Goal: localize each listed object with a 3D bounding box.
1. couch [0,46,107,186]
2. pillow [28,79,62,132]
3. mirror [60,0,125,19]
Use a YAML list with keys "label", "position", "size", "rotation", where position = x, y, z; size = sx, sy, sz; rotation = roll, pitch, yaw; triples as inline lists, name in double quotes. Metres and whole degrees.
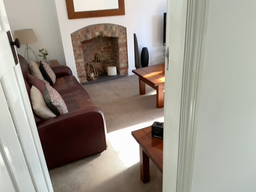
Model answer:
- label: "couch"
  position: [-1.150, -0.010, 2.910]
  size: [1.070, 0.850, 2.050]
  rotation: [-13, 27, -19]
- label: "pillow"
  position: [-0.880, 0.100, 2.260]
  size: [0.200, 0.340, 0.410]
  rotation: [-18, 51, -22]
- label: "mirror"
  position: [-0.660, -1.950, 3.980]
  size: [1.240, 0.820, 0.060]
  rotation: [-15, 27, -23]
